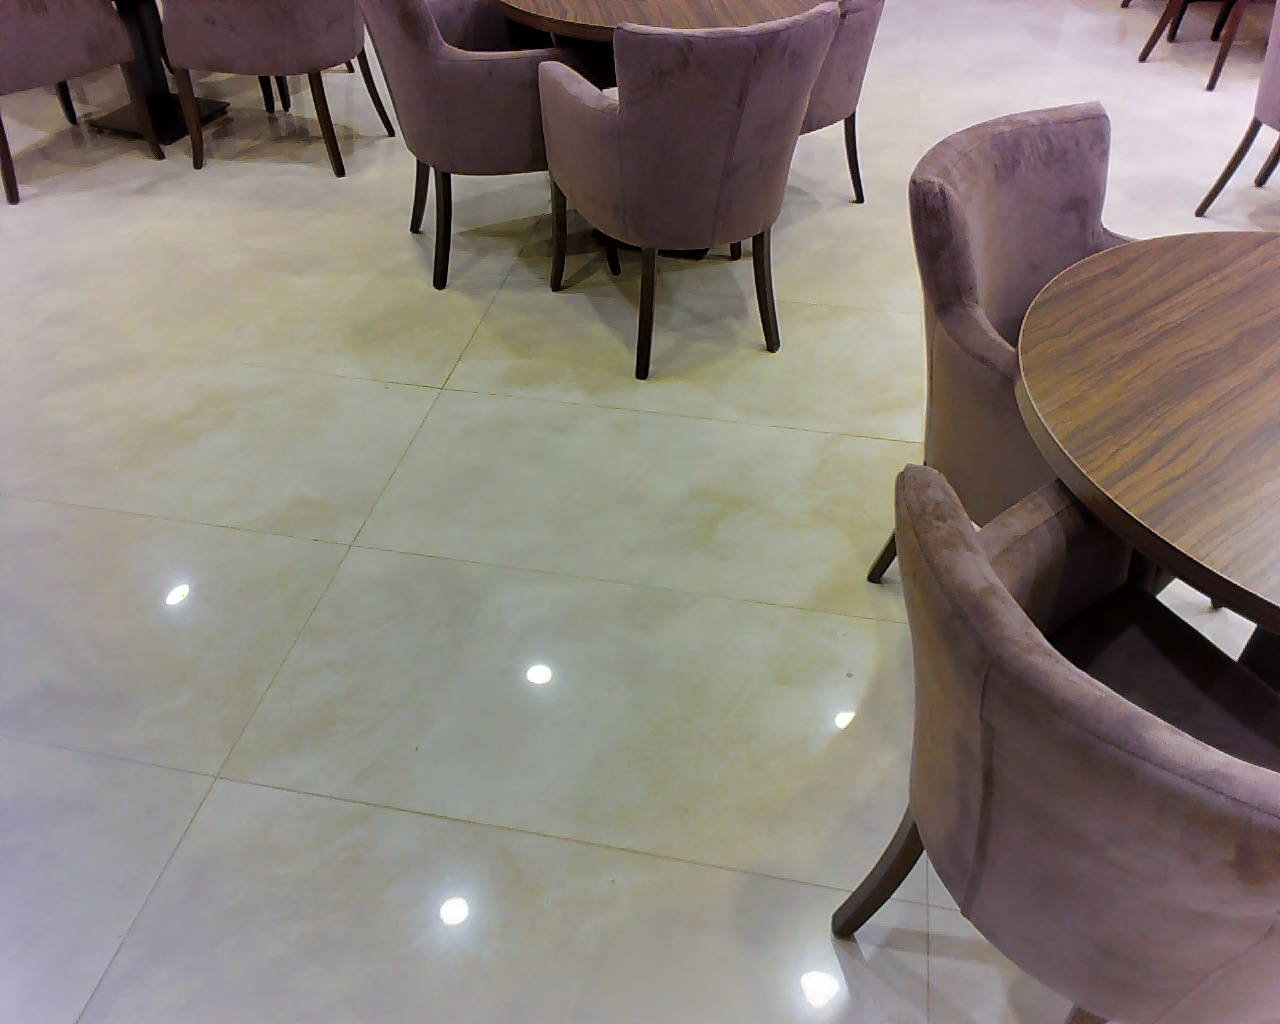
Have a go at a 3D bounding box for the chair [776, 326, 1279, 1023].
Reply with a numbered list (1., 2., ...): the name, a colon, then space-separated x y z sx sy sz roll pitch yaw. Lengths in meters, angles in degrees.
1. chair: 0.660 0.340 1.350 0.740 0.860 0.680 -8 42 -8

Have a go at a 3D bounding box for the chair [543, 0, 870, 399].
1. chair: 0.120 -0.860 2.720 0.600 0.840 0.680 -8 42 -8

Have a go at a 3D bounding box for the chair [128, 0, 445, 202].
1. chair: -1.190 -1.640 3.650 0.740 0.870 0.600 13 43 15

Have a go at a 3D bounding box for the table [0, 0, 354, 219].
1. table: -1.810 -1.740 3.860 1.000 0.810 0.970 24 47 25

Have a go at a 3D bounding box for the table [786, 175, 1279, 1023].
1. table: 0.980 0.140 1.660 1.060 0.740 0.980 32 51 31

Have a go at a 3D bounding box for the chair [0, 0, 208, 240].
1. chair: -2.049 -1.530 3.530 0.660 0.900 0.710 22 46 24

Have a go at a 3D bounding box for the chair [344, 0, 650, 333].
1. chair: -0.400 -1.110 3.020 0.620 0.850 0.710 -16 44 -17

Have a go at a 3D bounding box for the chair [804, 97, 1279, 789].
1. chair: 0.780 -0.140 1.900 0.630 0.850 0.640 -32 50 -31
